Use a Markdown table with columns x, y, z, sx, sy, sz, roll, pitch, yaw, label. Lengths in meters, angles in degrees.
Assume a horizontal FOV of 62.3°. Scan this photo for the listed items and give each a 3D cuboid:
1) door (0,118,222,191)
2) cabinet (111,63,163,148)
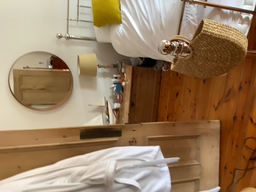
| x | y | z | sx | sy | sz | roll | pitch | yaw | label |
| --- | --- | --- | --- | --- | --- | --- | --- | --- | --- |
| -0.100 | 0.640 | 1.580 | 0.110 | 1.970 | 0.840 | -175 | 85 | -68 | door |
| 0.090 | 0.100 | 3.060 | 0.560 | 0.470 | 1.080 | -147 | 59 | -64 | cabinet |
